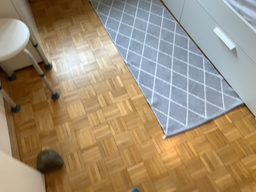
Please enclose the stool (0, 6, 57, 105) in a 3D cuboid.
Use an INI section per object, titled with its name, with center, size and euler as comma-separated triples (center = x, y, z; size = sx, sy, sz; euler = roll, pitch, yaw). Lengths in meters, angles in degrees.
[stool]
center = -0.730, -0.240, 1.380
size = 0.320, 0.490, 0.310
euler = -20, 62, -12
